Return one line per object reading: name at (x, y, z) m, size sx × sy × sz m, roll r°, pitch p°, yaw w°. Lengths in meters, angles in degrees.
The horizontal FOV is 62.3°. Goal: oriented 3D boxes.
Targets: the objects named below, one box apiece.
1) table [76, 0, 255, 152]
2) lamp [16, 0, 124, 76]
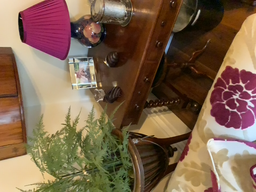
table at (0.190, -0.310, 1.490) m, size 0.630 × 0.790 × 1.090 m, roll 48°, pitch 134°, yaw 40°
lamp at (-0.340, -0.350, 1.190) m, size 0.360 × 0.460 × 0.300 m, roll 49°, pitch 134°, yaw 39°
